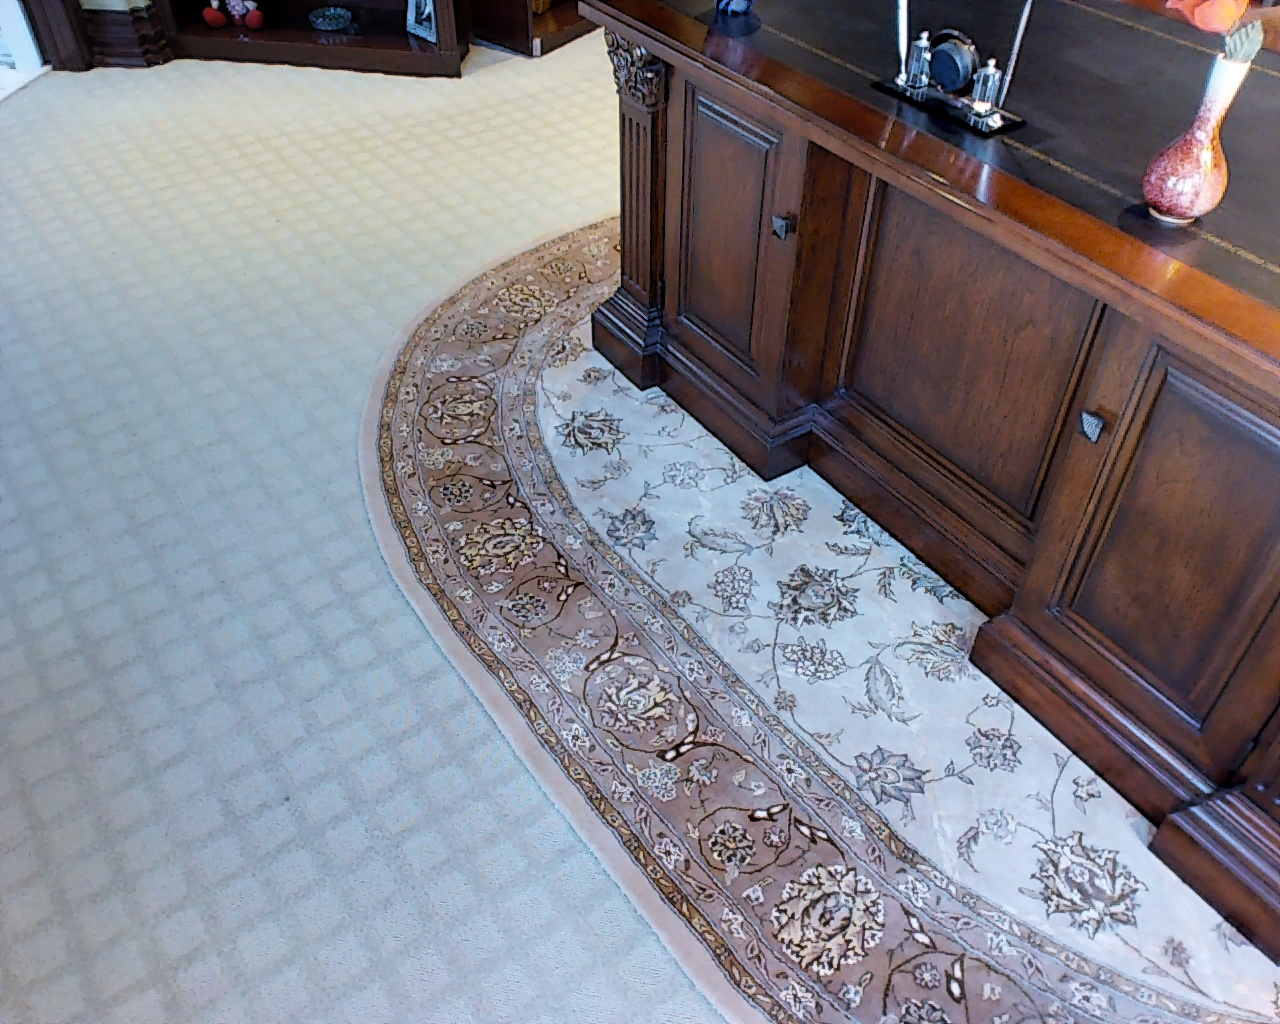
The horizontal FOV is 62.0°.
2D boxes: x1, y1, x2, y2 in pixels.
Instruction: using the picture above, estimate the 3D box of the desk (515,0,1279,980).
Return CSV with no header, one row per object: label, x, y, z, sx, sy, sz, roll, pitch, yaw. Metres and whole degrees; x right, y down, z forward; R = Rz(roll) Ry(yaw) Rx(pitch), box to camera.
desk,0.790,-0.370,1.930,1.140,0.780,1.900,-26,49,-26
